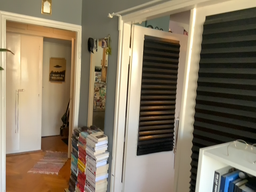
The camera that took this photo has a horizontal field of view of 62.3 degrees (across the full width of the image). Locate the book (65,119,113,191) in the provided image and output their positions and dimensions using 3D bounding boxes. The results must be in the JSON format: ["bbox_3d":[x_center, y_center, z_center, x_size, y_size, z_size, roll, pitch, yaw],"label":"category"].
[{"bbox_3d":[-0.500,0.800,2.480,0.180,0.840,0.990,1,7,-31],"label":"book"}]
